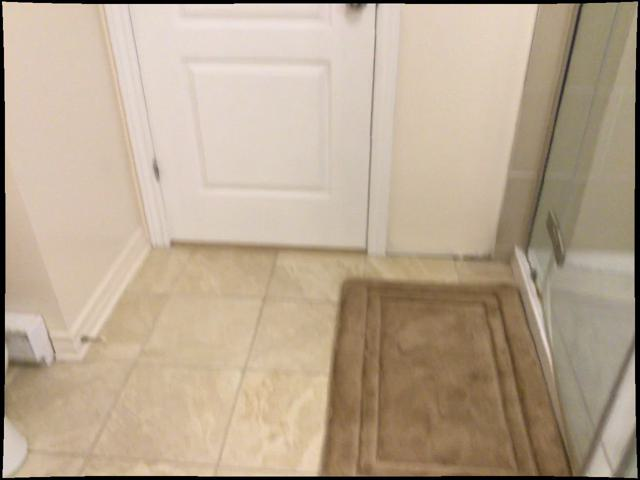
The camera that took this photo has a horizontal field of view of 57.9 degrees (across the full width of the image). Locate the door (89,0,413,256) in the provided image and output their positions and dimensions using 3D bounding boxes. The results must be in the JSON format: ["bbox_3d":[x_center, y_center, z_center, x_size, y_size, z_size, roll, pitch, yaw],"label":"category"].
[{"bbox_3d":[-0.210,-0.831,1.660,0.959,2.011,0.130,3,35,6],"label":"door"}]

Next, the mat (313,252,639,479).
[{"bbox_3d":[0.400,0.360,1.640,0.739,0.090,0.940,3,35,6],"label":"mat"}]
